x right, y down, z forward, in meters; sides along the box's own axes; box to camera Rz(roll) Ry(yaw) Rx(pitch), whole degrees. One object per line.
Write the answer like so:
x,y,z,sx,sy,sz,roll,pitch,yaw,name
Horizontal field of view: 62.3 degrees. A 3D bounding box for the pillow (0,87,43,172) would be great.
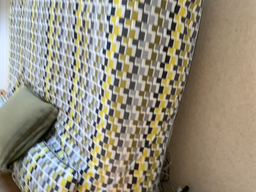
-0.870,0.190,1.530,0.160,0.490,0.590,-40,26,-14,pillow
